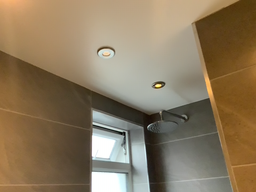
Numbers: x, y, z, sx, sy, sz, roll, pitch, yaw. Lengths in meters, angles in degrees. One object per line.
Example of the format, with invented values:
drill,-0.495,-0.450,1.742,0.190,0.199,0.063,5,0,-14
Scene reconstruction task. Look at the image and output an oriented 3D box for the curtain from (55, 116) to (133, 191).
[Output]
curtain,-0.210,0.620,1.520,0.160,0.820,0.610,-20,-29,32
